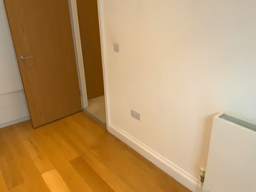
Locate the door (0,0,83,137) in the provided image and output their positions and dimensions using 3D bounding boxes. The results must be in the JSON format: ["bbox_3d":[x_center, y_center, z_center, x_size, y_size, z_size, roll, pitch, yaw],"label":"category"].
[{"bbox_3d":[-1.060,-0.530,2.730,0.800,2.110,0.070,-18,28,-35],"label":"door"}]
